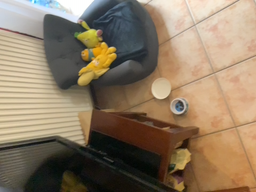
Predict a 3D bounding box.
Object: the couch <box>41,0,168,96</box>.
[{"bbox_3d":[-0.170,-0.390,1.530,0.590,0.510,0.590,-26,75,31],"label":"couch"}]
